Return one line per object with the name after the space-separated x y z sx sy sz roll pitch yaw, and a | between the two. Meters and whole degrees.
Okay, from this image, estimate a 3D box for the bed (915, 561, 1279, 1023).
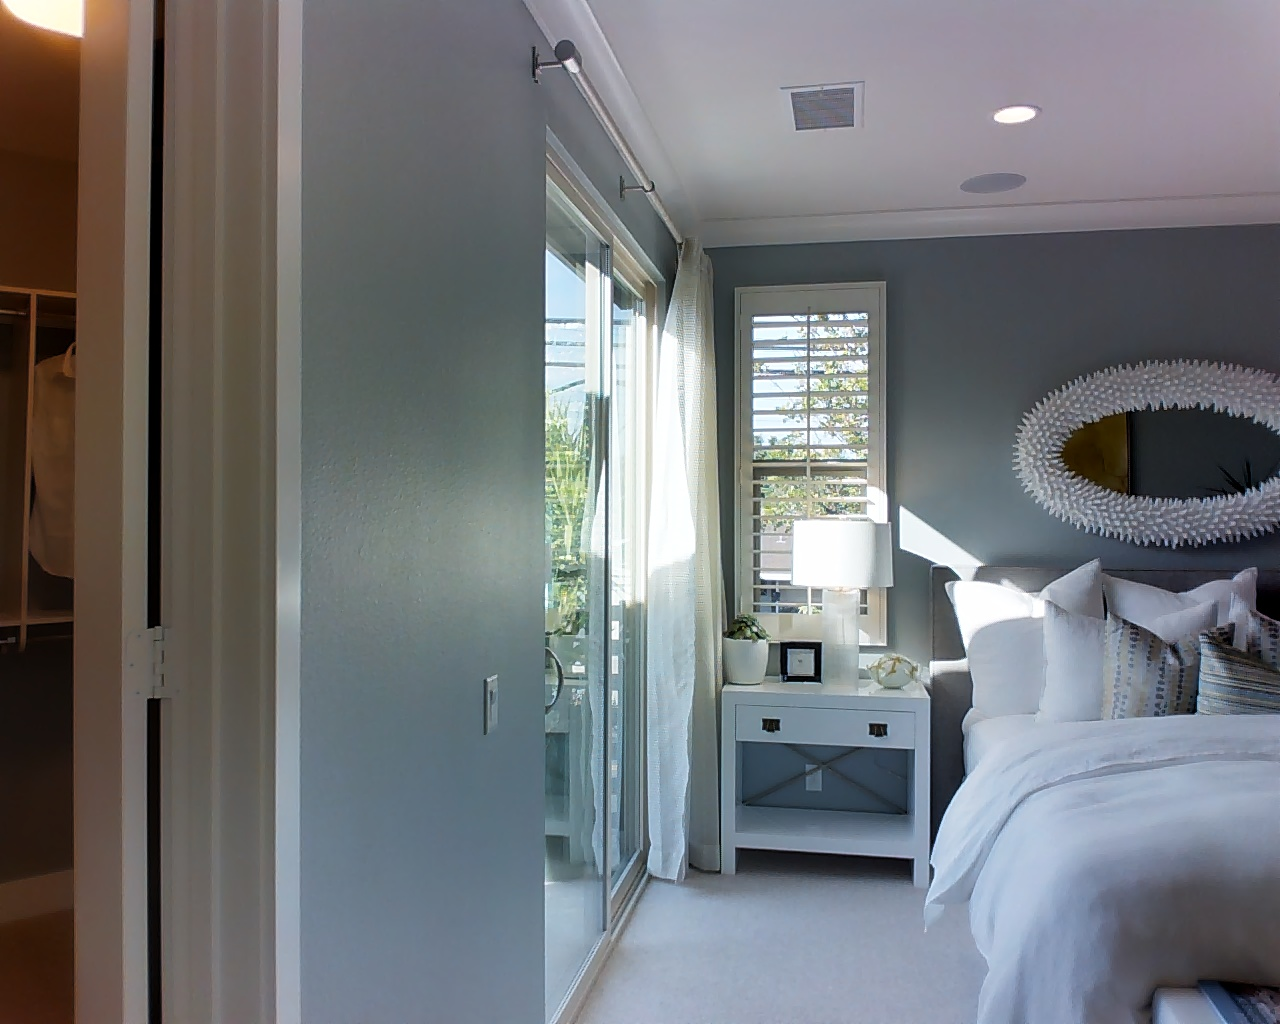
2.059 0.840 3.230 2.229 1.291 2.410 0 -1 11 | bed
